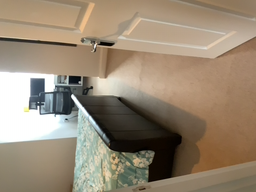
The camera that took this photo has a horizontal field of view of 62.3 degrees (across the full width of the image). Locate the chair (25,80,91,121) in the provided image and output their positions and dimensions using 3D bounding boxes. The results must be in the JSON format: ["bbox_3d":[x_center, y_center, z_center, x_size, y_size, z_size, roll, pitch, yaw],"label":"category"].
[{"bbox_3d":[-1.400,0.070,4.180,0.640,1.120,0.630,27,113,60],"label":"chair"}]
